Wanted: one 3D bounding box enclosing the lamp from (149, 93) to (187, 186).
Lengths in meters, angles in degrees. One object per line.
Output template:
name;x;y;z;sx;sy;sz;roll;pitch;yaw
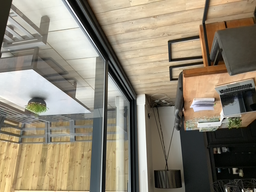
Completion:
lamp;0.780;0.870;4.310;0.570;1.750;0.550;-4;160;9

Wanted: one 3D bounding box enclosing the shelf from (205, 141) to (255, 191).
shelf;2.240;1.550;3.850;1.370;1.390;0.410;-5;159;12
